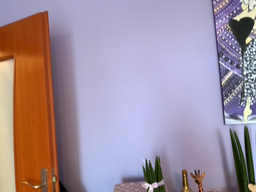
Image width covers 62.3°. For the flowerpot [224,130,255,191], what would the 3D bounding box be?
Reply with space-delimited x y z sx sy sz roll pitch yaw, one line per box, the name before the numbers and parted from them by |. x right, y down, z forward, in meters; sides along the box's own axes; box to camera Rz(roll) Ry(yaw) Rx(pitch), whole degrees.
flowerpot | 0.620 0.400 1.070 0.190 0.420 0.200 -5 -2 18
